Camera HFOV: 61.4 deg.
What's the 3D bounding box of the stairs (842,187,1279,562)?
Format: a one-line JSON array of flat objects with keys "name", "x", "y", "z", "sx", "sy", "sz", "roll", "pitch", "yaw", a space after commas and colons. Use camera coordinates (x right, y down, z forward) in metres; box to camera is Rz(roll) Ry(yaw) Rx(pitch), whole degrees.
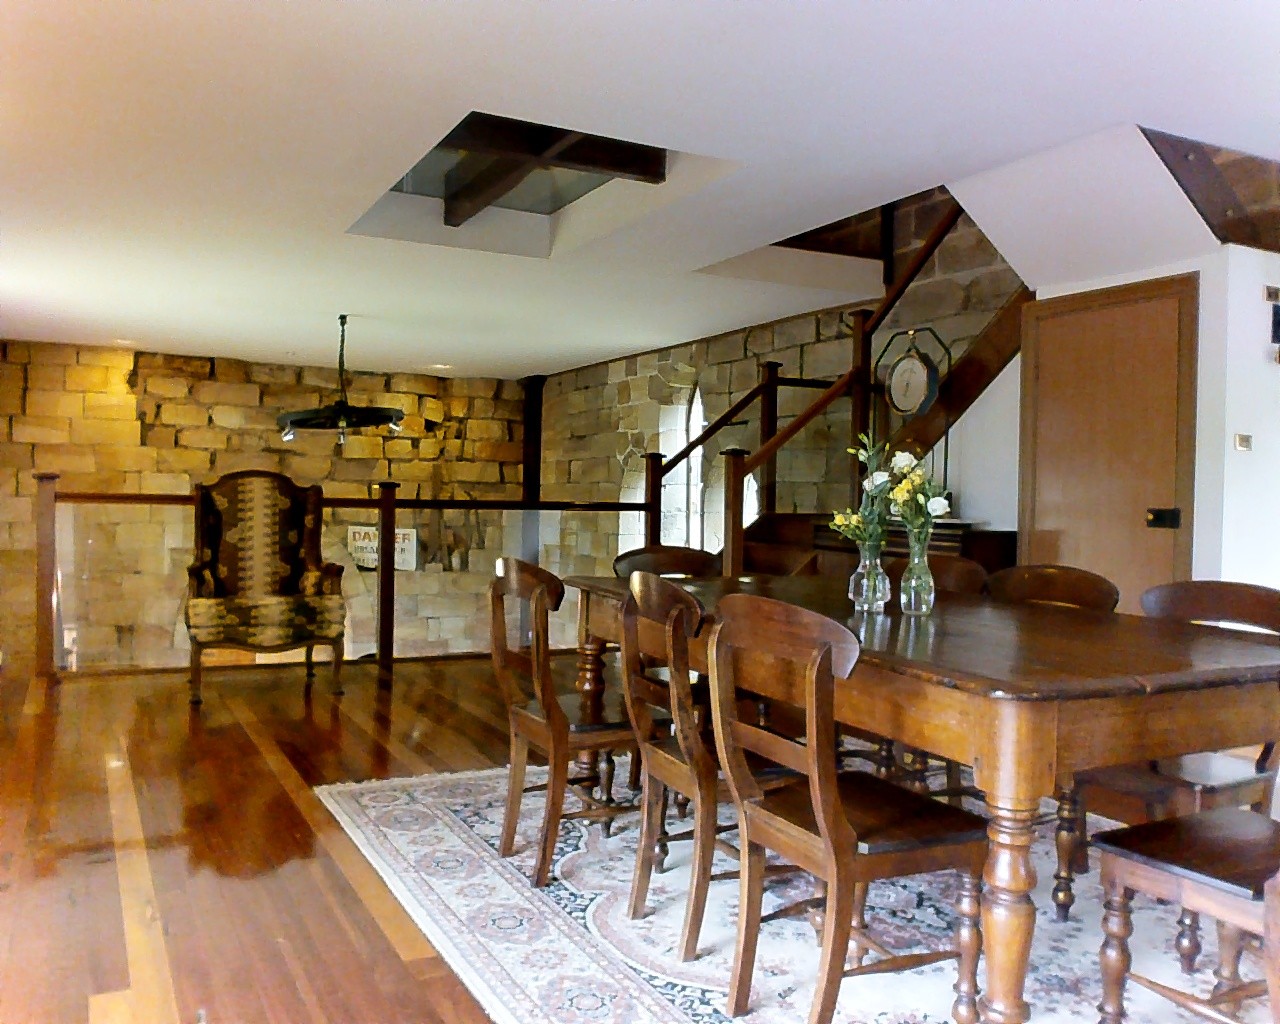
[{"name": "stairs", "x": 2.519, "y": -0.620, "z": 6.250, "sx": 1.170, "sy": 1.661, "sz": 2.730, "roll": 2, "pitch": 0, "yaw": -27}]
